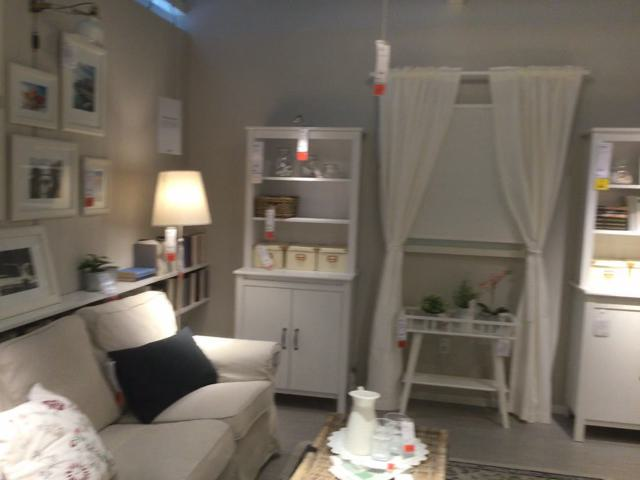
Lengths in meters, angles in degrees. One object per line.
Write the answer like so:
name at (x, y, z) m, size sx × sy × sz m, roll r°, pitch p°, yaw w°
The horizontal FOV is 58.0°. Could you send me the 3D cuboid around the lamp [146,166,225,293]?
lamp at (-0.780, -0.070, 3.390) m, size 0.320 × 0.700 × 0.320 m, roll 1°, pitch 5°, yaw 16°
